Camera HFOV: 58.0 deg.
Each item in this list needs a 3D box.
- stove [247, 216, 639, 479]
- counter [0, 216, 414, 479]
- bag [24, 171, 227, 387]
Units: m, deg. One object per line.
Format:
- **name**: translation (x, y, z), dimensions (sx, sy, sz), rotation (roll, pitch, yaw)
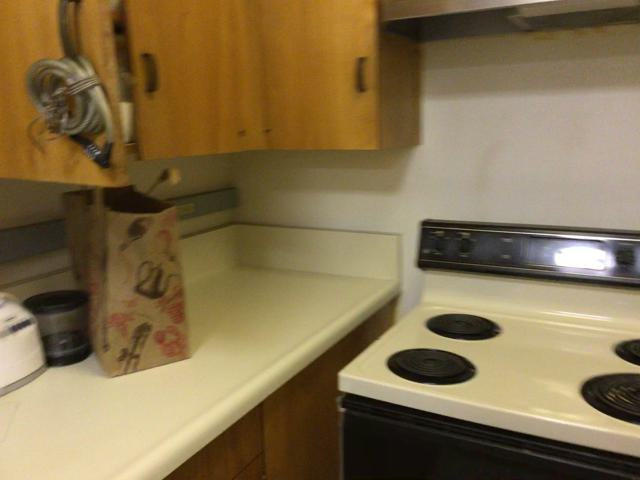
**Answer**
- **stove**: translation (0.460, 0.570, 1.400), dimensions (0.930, 1.140, 0.780), rotation (3, 11, 27)
- **counter**: translation (-0.640, 0.300, 0.820), dimensions (0.720, 0.300, 2.750), rotation (3, 11, 27)
- **bag**: translation (-0.420, 0.060, 1.290), dimensions (0.300, 0.410, 0.260), rotation (3, 11, 27)
